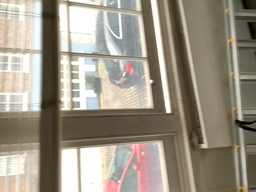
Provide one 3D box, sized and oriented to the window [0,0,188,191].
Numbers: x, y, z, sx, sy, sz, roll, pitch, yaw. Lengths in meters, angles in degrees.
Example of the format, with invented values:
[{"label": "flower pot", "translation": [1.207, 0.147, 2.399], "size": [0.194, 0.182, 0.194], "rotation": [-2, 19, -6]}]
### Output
[{"label": "window", "translation": [-0.820, -0.410, 1.190], "size": [0.090, 2.340, 2.320], "rotation": [145, 122, -66]}]
